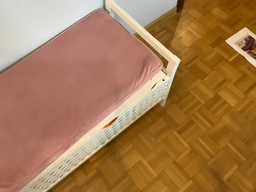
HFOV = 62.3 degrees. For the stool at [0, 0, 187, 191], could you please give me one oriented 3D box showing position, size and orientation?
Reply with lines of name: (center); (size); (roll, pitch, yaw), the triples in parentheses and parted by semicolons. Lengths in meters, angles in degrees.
stool: (-0.280, 0.040, 1.050); (0.970, 0.470, 0.500); (-38, 69, -14)
